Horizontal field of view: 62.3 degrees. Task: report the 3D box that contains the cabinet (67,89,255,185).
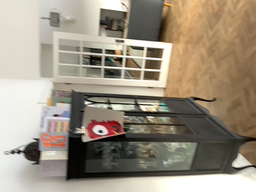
[{"bbox_3d":[0.310,0.310,2.050,0.940,1.690,0.360,-120,36,-64],"label":"cabinet"}]
